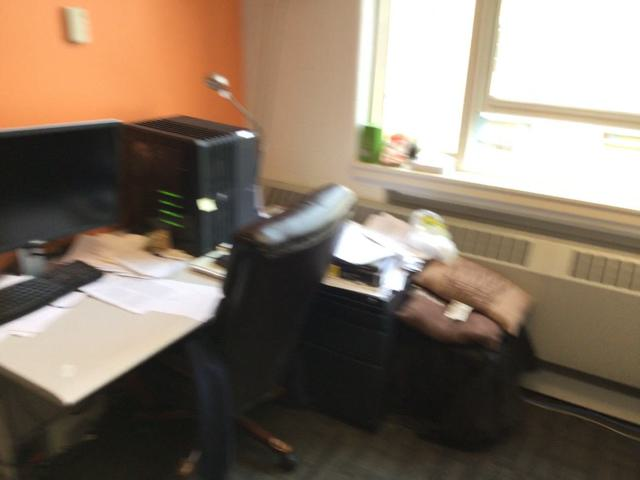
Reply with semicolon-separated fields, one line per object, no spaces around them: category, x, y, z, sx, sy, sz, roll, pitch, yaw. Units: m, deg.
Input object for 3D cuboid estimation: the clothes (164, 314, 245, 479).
clothes;-0.360;0.570;1.810;0.190;0.640;0.140;13;21;25
